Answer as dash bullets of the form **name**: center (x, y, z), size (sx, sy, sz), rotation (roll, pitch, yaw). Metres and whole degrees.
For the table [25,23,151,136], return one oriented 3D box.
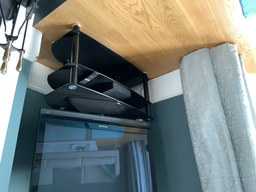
- **table**: center (-0.270, -0.040, 1.930), size (0.510, 0.540, 1.030), rotation (-16, 152, 27)
